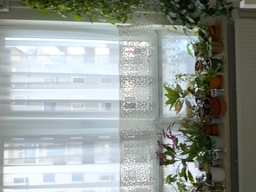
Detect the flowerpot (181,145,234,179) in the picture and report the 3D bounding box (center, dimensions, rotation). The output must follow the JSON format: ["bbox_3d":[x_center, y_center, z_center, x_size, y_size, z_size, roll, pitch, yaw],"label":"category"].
[{"bbox_3d":[0.690,0.570,1.860,0.170,0.390,0.240,147,124,-82],"label":"flowerpot"}]

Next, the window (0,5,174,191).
[{"bbox_3d":[-0.460,0.300,1.790,0.230,1.670,1.990,164,107,-83],"label":"window"}]
